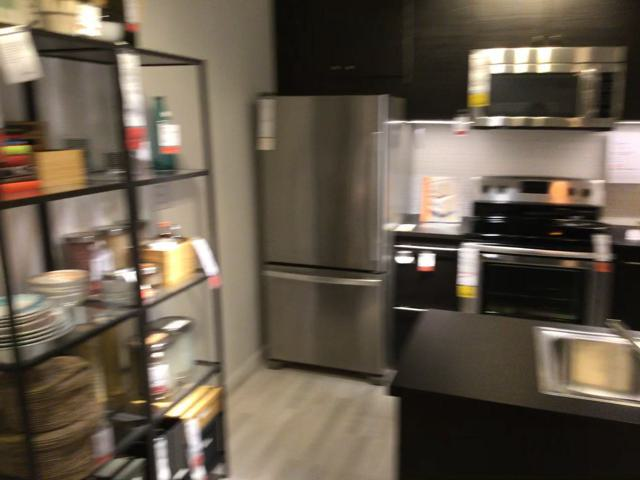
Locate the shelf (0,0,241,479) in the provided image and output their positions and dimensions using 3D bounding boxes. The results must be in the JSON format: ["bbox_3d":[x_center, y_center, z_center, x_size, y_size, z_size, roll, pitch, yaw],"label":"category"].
[{"bbox_3d":[-0.720,0.170,1.930,0.420,1.890,1.070,3,13,18],"label":"shelf"}]

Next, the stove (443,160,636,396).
[{"bbox_3d":[1.250,0.160,3.450,0.900,1.200,0.690,3,13,18],"label":"stove"}]
